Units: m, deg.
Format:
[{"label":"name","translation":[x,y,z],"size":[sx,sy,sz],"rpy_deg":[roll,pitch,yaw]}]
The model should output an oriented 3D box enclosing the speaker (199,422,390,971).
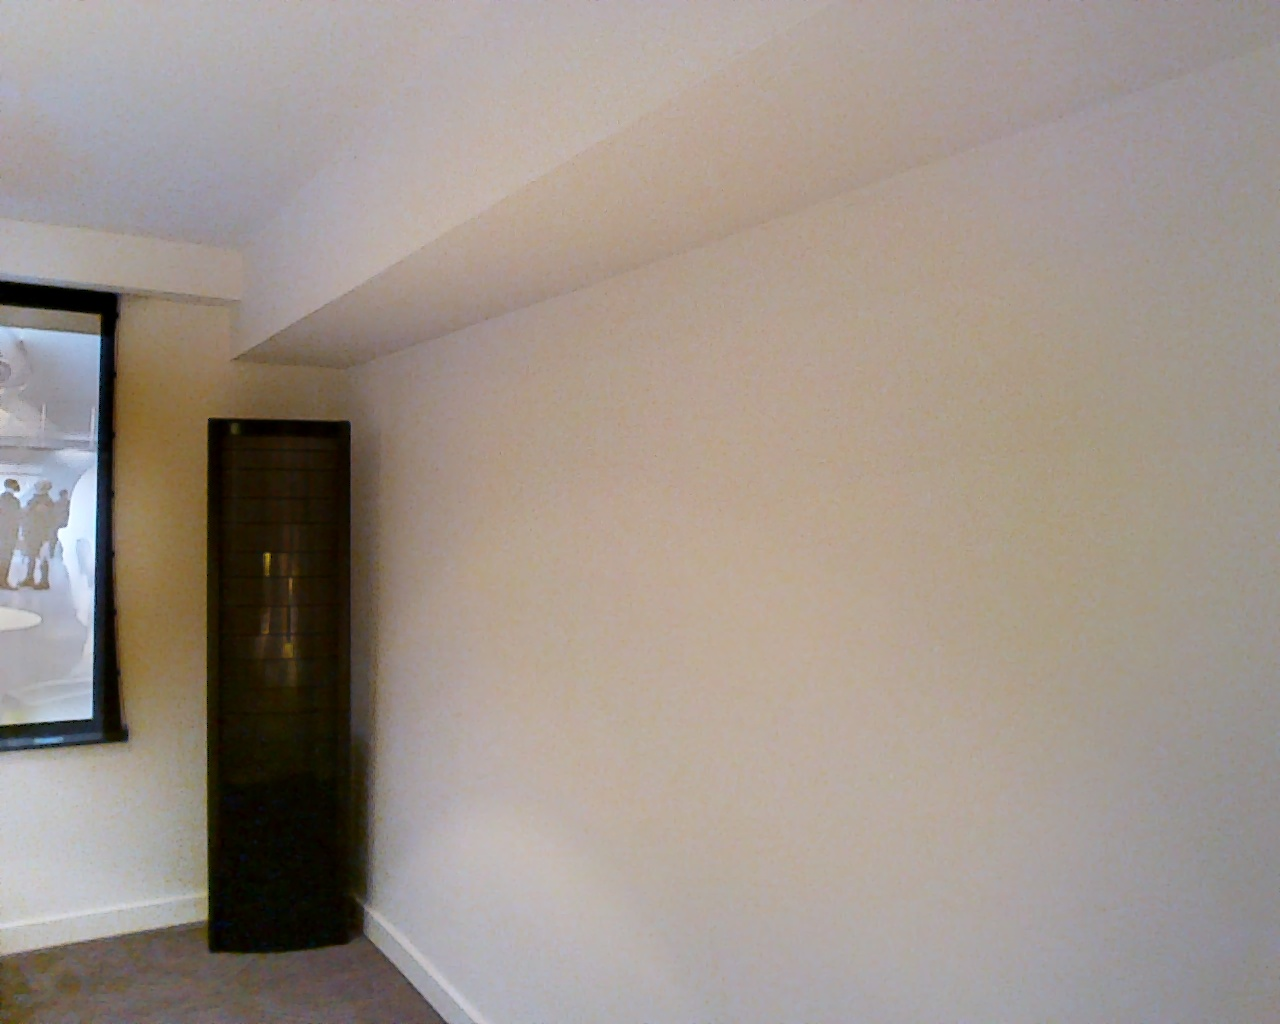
[{"label":"speaker","translation":[-1.170,0.600,3.650],"size":[0.570,1.770,0.170],"rpy_deg":[1,0,-21]}]
